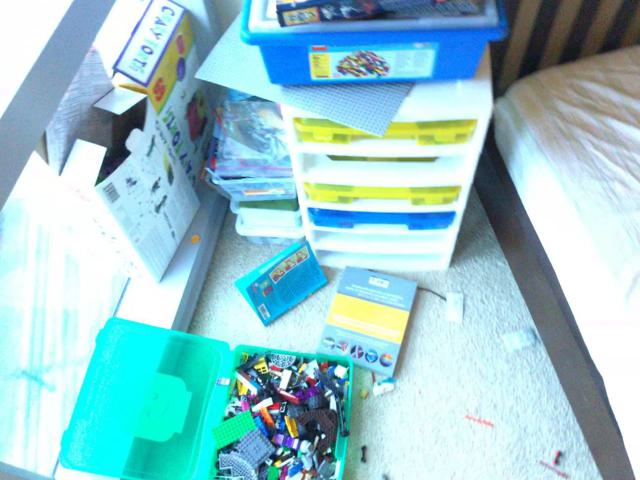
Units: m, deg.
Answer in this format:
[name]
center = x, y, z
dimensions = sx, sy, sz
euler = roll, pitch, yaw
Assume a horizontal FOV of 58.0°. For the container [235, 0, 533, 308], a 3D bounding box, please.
[container]
center = 0.130, -0.170, 1.310
dimensions = 0.470, 0.600, 0.340
euler = -13, 59, 0
